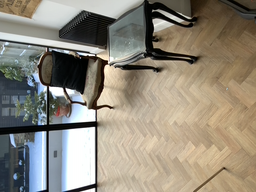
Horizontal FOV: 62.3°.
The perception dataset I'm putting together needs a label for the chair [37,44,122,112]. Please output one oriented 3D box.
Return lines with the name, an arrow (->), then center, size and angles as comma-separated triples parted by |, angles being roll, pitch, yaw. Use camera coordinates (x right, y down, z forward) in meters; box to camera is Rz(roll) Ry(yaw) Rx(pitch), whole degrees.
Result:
chair -> -0.650, -0.230, 2.740 | 0.680, 0.790, 0.560 | 44, 123, 44
